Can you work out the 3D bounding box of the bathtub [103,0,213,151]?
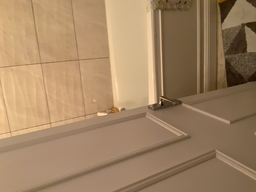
[{"bbox_3d":[0.220,-0.510,1.740,0.670,0.580,1.640,18,115,59],"label":"bathtub"}]
